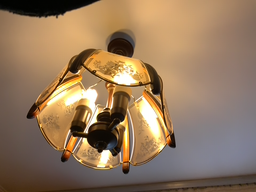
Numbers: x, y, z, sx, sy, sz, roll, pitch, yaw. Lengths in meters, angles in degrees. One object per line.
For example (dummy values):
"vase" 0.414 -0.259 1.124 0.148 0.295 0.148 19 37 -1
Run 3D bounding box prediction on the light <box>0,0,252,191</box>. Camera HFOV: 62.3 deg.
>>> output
"light" -0.030 -0.010 0.860 0.740 0.950 0.570 -15 -145 17
